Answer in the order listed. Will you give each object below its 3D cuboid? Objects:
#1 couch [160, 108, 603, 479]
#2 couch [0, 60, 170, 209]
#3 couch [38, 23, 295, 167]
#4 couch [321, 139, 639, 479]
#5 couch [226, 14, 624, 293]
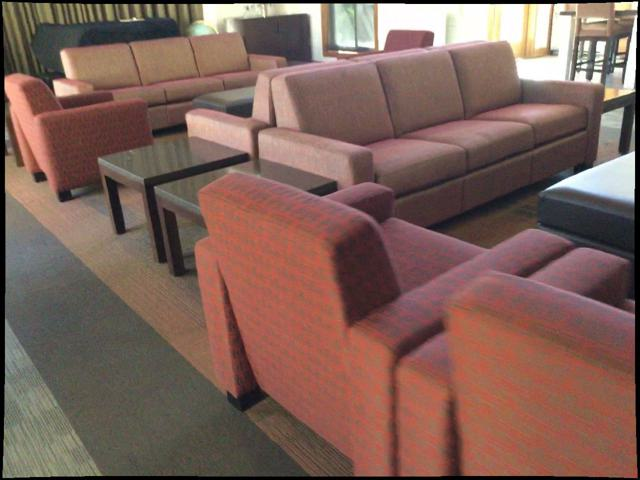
[{"bbox_3d":[0.170,0.160,1.720,0.810,0.841,0.860,-23,29,-31],"label":"couch"},{"bbox_3d":[-1.758,-0.831,4.290,0.800,0.811,0.890,-23,29,-31],"label":"couch"},{"bbox_3d":[-1.479,-1.572,5.930,2.229,0.921,0.890,-23,29,-31],"label":"couch"},{"bbox_3d":[0.679,0.380,1.200,0.860,0.851,0.960,-23,29,-31],"label":"couch"},{"bbox_3d":[0.719,-0.671,3.390,2.229,0.921,0.880,-23,29,-31],"label":"couch"}]
